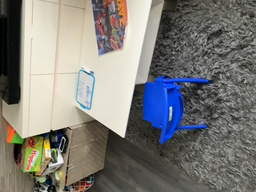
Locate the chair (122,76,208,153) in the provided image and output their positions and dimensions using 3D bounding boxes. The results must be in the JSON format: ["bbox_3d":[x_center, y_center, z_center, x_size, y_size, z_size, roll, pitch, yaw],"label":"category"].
[{"bbox_3d":[0.230,0.070,1.300,0.350,0.400,0.360,6,101,42],"label":"chair"}]
